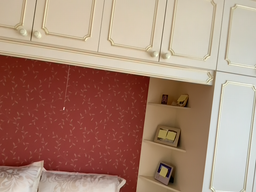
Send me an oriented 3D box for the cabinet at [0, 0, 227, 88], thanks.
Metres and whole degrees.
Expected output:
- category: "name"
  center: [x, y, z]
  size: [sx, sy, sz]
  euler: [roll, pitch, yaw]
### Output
- category: "cabinet"
  center: [-0.600, -0.580, 1.580]
  size: [2.430, 0.680, 0.650]
  euler: [8, -2, -8]
